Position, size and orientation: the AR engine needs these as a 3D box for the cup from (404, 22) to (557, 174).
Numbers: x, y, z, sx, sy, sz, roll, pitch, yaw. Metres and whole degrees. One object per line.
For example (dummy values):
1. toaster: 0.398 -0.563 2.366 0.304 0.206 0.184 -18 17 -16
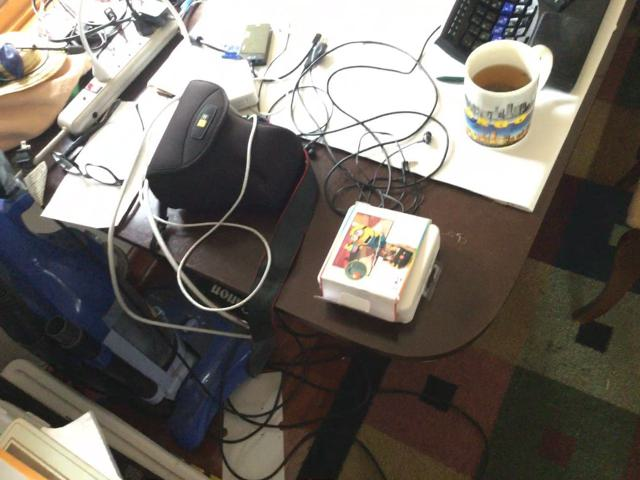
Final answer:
1. cup: 0.210 -0.180 0.760 0.120 0.120 0.110 36 -20 -21
